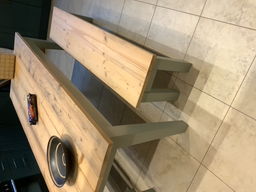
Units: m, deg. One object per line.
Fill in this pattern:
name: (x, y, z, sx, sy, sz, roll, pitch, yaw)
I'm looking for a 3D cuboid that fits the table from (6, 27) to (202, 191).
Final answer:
table: (-0.520, 0.050, 2.100, 2.130, 0.790, 0.820, 38, 120, 42)
